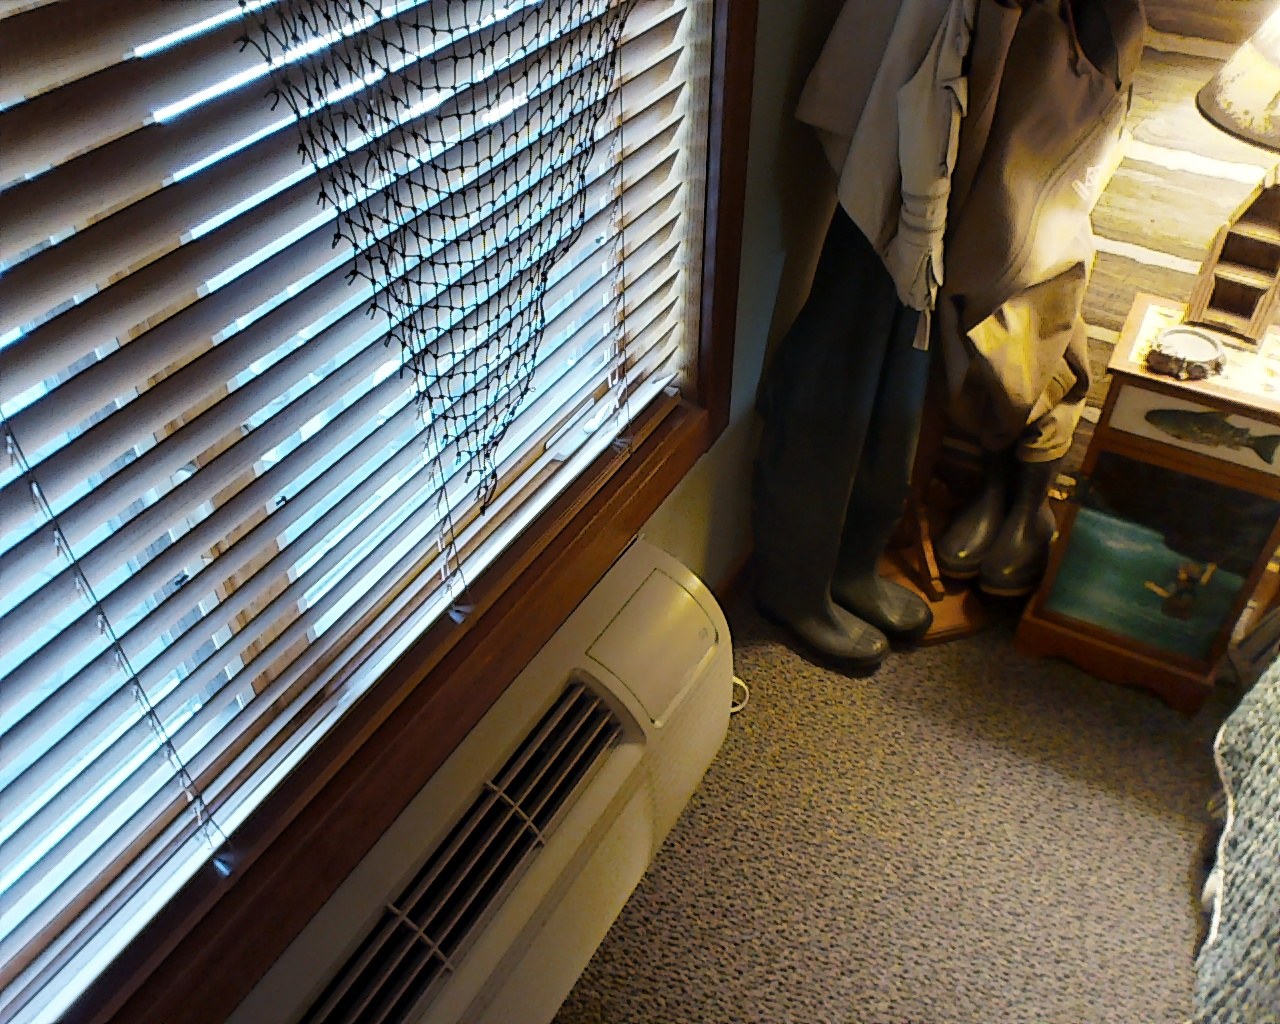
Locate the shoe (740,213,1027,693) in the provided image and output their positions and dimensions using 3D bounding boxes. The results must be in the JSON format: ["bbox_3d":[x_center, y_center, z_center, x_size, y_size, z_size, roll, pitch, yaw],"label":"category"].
[{"bbox_3d":[0.410,-0.090,1.920,0.280,0.720,0.380,23,48,24],"label":"shoe"}]

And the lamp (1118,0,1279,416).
[{"bbox_3d":[0.950,-0.440,1.560,0.300,0.480,0.320,20,47,22],"label":"lamp"}]

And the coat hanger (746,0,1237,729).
[{"bbox_3d":[0.540,-0.570,1.560,0.450,1.900,0.620,20,47,22],"label":"coat hanger"}]
